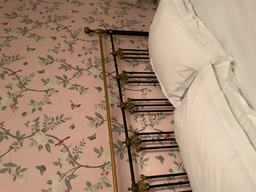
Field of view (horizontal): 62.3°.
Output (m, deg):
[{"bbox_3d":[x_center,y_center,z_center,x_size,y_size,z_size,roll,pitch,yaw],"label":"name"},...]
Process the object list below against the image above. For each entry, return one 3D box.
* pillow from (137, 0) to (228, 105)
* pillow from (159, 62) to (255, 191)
[{"bbox_3d":[0.290,-0.360,1.410,0.370,0.250,0.760,106,159,-50],"label":"pillow"},{"bbox_3d":[0.430,0.280,0.970,0.440,0.270,0.780,106,159,-49],"label":"pillow"}]
